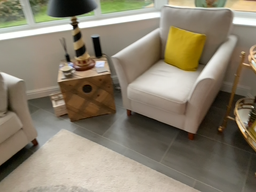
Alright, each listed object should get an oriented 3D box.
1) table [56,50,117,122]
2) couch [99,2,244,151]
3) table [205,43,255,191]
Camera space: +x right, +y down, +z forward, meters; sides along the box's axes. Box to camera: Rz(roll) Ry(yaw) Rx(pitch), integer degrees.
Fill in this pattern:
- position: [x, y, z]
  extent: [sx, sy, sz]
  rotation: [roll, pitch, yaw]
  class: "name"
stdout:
- position: [-0.450, -0.130, 2.320]
  extent: [0.520, 0.500, 0.530]
  rotation: [-10, 37, -9]
  class: "table"
- position: [0.430, -0.280, 2.080]
  extent: [0.880, 0.920, 0.990]
  rotation: [20, 43, 28]
  class: "couch"
- position: [1.070, 0.130, 1.600]
  extent: [0.500, 0.770, 0.840]
  rotation: [-8, 37, -5]
  class: "table"
